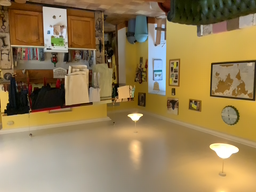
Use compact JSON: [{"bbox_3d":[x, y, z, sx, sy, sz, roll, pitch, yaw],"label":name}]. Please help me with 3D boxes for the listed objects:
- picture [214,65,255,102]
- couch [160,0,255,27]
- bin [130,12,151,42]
[{"bbox_3d":[1.830,-0.230,3.630,0.020,0.580,0.830,-4,-172,-28],"label":"picture"},{"bbox_3d":[1.380,-1.570,3.090,0.890,0.710,1.810,-5,-172,-29],"label":"couch"},{"bbox_3d":[0.330,-1.870,5.780,0.410,0.690,0.390,-5,-172,-32],"label":"bin"}]
